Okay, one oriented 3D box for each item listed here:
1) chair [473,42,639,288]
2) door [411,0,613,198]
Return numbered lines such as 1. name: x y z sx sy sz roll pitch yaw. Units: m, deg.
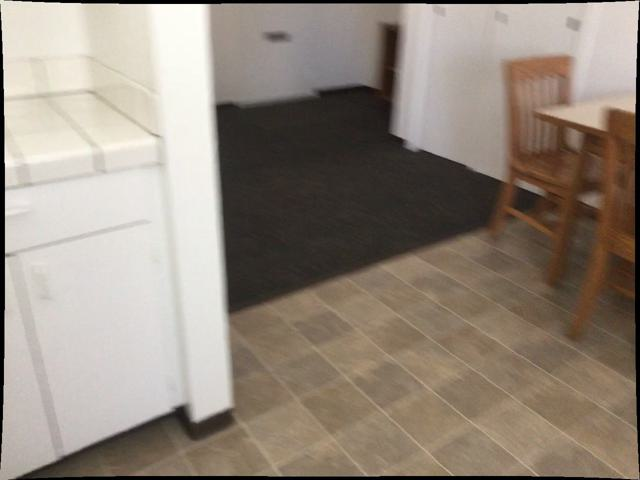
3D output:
1. chair: 1.198 -0.381 2.670 0.569 0.891 0.620 -18 33 -29
2. door: 1.078 -1.382 3.370 0.130 1.983 1.250 -18 33 -29
